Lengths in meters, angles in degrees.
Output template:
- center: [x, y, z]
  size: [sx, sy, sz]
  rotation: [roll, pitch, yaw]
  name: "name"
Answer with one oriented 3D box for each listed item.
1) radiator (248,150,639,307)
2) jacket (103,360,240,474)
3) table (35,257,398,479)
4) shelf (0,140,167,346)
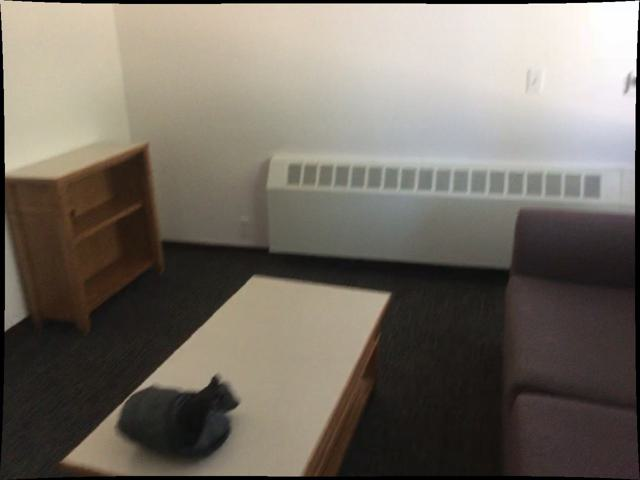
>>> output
- center: [0.669, -0.080, 3.040]
  size: [2.107, 0.661, 0.180]
  rotation: [5, 24, 12]
  name: "radiator"
- center: [-0.349, 0.421, 1.400]
  size: [0.240, 0.130, 0.210]
  rotation: [5, 24, 13]
  name: "jacket"
- center: [-0.180, 0.531, 1.810]
  size: [0.659, 0.481, 1.100]
  rotation: [6, 24, 15]
  name: "table"
- center: [-1.158, -0.030, 2.900]
  size: [0.349, 0.761, 0.800]
  rotation: [5, 24, 12]
  name: "shelf"
